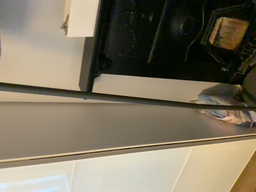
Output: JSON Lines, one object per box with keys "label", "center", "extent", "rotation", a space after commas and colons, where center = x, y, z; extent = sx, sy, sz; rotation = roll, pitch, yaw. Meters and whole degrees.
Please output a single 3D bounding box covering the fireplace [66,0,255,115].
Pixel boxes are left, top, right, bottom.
{"label": "fireplace", "center": [0.320, -0.350, 1.190], "extent": [0.320, 1.150, 0.870], "rotation": [52, 133, 51]}
